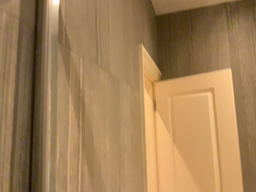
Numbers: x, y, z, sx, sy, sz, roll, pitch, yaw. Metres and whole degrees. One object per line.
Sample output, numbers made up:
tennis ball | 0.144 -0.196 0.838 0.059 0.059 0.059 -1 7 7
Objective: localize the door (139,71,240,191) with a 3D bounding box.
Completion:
door | 0.450 0.830 1.600 0.730 1.960 0.050 -7 -9 33
